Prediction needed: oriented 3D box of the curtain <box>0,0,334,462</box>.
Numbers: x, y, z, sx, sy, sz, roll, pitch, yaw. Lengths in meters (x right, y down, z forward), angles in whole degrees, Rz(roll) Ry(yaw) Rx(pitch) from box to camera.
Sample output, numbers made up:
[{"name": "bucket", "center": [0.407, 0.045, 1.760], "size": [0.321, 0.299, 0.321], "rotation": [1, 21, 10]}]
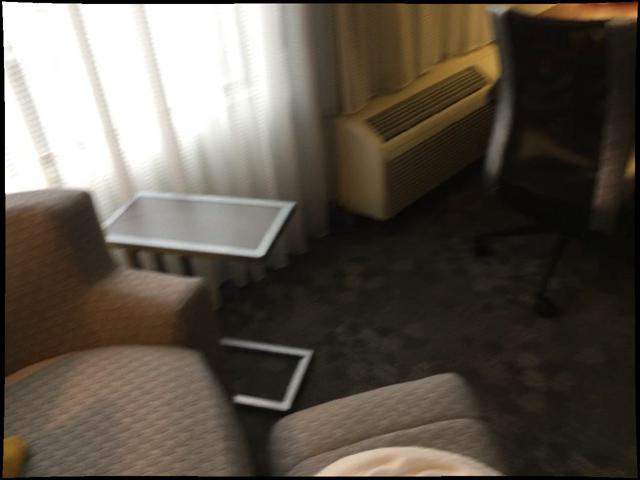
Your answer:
[{"name": "curtain", "center": [-0.639, -0.300, 1.660], "size": [0.210, 1.561, 1.620], "rotation": [28, 47, 37]}]
